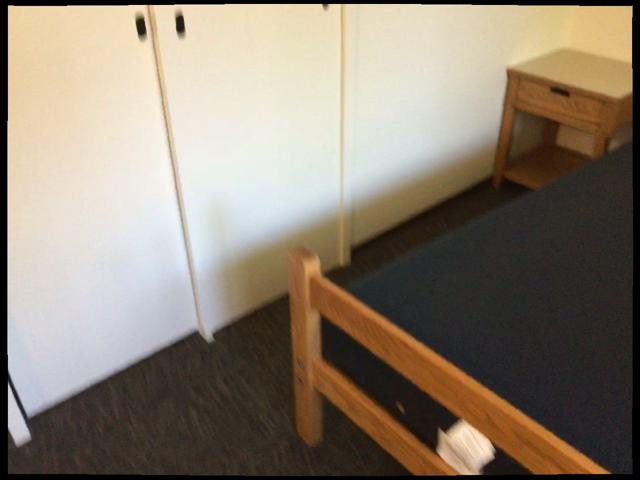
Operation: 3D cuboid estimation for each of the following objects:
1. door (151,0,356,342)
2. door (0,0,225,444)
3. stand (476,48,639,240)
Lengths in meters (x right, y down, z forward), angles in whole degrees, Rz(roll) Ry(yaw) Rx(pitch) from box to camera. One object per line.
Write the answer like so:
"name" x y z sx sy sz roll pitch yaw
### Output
"door" -0.160 -0.611 1.650 0.599 1.993 0.130 -26 41 -32
"door" -0.629 -0.391 1.320 0.629 2.003 0.150 -26 41 -32
"stand" 1.158 -0.471 2.680 0.540 0.621 0.540 -26 41 -32
